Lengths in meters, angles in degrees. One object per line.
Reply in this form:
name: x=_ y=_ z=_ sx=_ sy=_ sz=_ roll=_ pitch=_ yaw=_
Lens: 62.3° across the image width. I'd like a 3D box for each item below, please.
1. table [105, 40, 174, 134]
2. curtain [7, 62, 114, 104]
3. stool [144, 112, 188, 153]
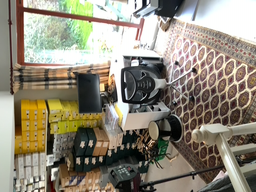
table: x=0.140 y=-0.100 z=3.490 sx=0.760 sy=0.720 sz=1.340 roll=-24 pitch=69 yaw=60
curtain: x=-1.030 y=-0.190 z=3.380 sx=0.280 sy=1.550 sz=0.530 roll=45 pitch=130 yaw=53
stool: x=0.540 y=0.530 z=3.110 sx=0.380 sy=0.390 sz=0.410 roll=56 pitch=138 yaw=46
